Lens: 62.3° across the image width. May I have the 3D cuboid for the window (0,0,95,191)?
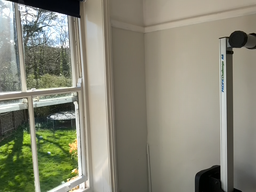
[{"bbox_3d":[-0.780,0.120,1.570,0.360,1.860,1.070,4,8,35],"label":"window"}]
